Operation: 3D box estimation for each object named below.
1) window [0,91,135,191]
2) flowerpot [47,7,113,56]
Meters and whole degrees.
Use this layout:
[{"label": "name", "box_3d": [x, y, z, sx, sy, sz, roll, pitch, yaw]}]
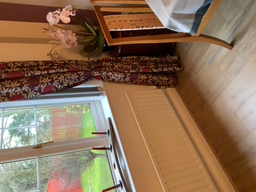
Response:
[{"label": "window", "box_3d": [-0.680, 0.640, 1.480, 0.080, 1.430, 1.640, 112, 146, -45]}, {"label": "flowerpot", "box_3d": [-0.490, -0.620, 2.100, 0.370, 0.570, 0.230, 111, 147, -45]}]
